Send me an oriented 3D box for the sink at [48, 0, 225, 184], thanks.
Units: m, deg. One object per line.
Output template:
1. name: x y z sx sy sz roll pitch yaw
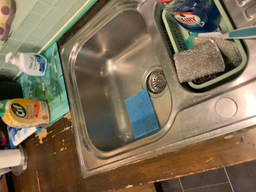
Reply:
1. sink: -0.010 -0.020 0.780 0.450 0.280 0.520 -29 69 34
